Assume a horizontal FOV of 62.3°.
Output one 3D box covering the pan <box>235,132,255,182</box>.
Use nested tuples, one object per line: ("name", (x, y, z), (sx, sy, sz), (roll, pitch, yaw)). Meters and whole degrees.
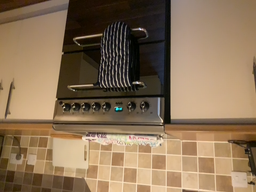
("pan", (0.750, 0.350, 1.220), (0.200, 0.250, 0.280), (-2, 165, 21))
